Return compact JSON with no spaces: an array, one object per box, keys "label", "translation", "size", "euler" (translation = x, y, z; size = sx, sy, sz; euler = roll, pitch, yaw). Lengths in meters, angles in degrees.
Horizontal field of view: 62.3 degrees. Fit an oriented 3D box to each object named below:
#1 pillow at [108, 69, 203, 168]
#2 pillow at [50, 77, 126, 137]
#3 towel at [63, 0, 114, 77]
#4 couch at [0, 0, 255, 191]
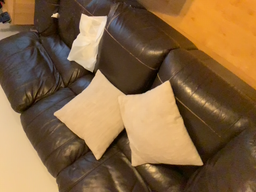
[{"label":"pillow","translation":[0.120,0.140,1.130],"size":[0.400,0.110,0.450],"euler":[-20,89,47]},{"label":"pillow","translation":[-0.230,0.050,1.290],"size":[0.380,0.400,0.090],"euler":[-99,7,-46]},{"label":"towel","translation":[-0.290,-0.410,1.450],"size":[0.310,0.100,0.450],"euler":[43,130,27]},{"label":"couch","translation":[-0.170,-0.120,1.440],"size":[2.030,0.930,0.980],"euler":[47,132,24]}]
